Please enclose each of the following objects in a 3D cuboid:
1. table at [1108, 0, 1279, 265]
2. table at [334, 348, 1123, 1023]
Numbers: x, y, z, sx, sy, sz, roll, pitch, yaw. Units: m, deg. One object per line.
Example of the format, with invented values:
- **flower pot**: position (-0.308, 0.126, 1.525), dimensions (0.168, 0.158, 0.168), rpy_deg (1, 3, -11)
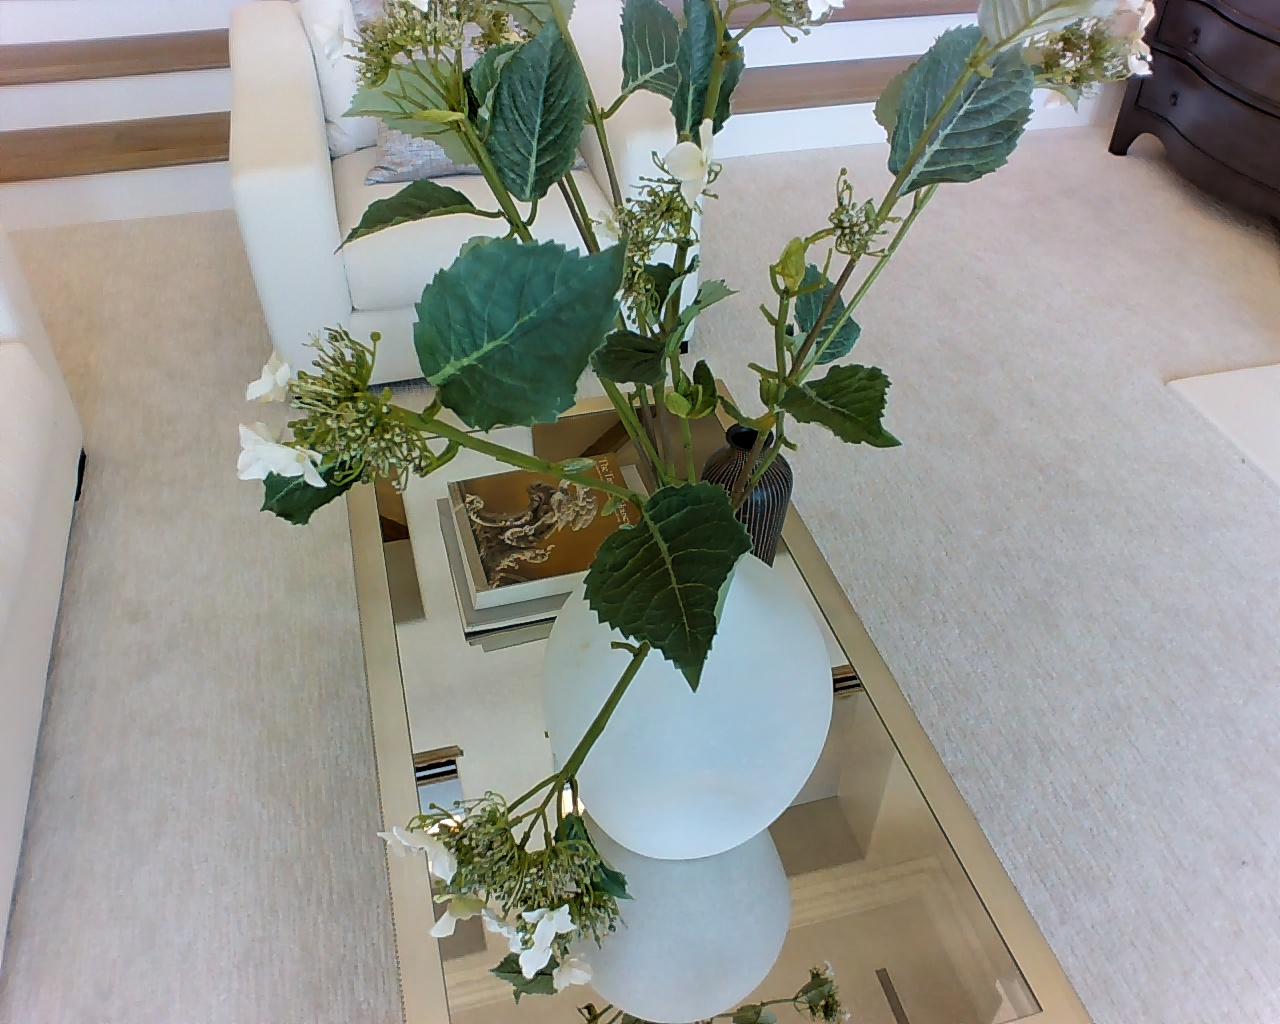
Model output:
- **table**: position (2.100, -1.370, 3.450), dimensions (0.390, 0.800, 1.090), rpy_deg (-10, 43, -11)
- **table**: position (-0.020, 0.360, 1.710), dimensions (0.760, 0.470, 1.380), rpy_deg (-10, 43, -11)
